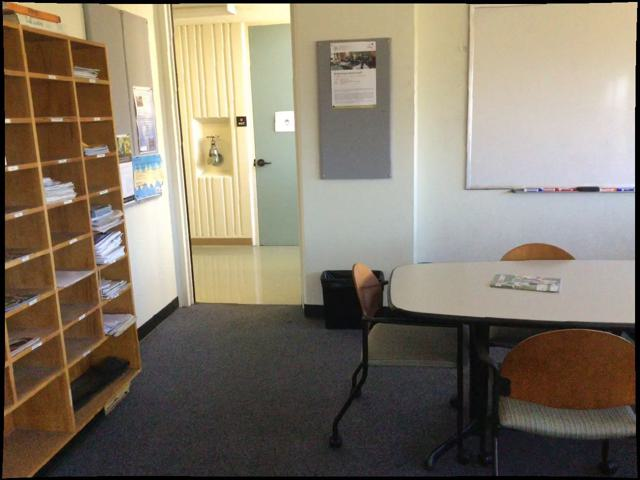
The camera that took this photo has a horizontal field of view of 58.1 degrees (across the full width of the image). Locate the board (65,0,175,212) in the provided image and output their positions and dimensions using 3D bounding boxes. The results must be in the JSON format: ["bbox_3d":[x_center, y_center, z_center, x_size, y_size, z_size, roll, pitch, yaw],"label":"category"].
[{"bbox_3d":[-1.247,-0.882,3.740,0.110,1.243,0.890,0,14,11],"label":"board"}]

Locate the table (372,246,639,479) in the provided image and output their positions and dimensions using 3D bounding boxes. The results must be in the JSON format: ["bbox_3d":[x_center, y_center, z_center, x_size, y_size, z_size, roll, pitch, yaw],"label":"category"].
[{"bbox_3d":[1.187,0.481,2.520,1.805,0.672,0.990,0,14,11],"label":"table"}]
